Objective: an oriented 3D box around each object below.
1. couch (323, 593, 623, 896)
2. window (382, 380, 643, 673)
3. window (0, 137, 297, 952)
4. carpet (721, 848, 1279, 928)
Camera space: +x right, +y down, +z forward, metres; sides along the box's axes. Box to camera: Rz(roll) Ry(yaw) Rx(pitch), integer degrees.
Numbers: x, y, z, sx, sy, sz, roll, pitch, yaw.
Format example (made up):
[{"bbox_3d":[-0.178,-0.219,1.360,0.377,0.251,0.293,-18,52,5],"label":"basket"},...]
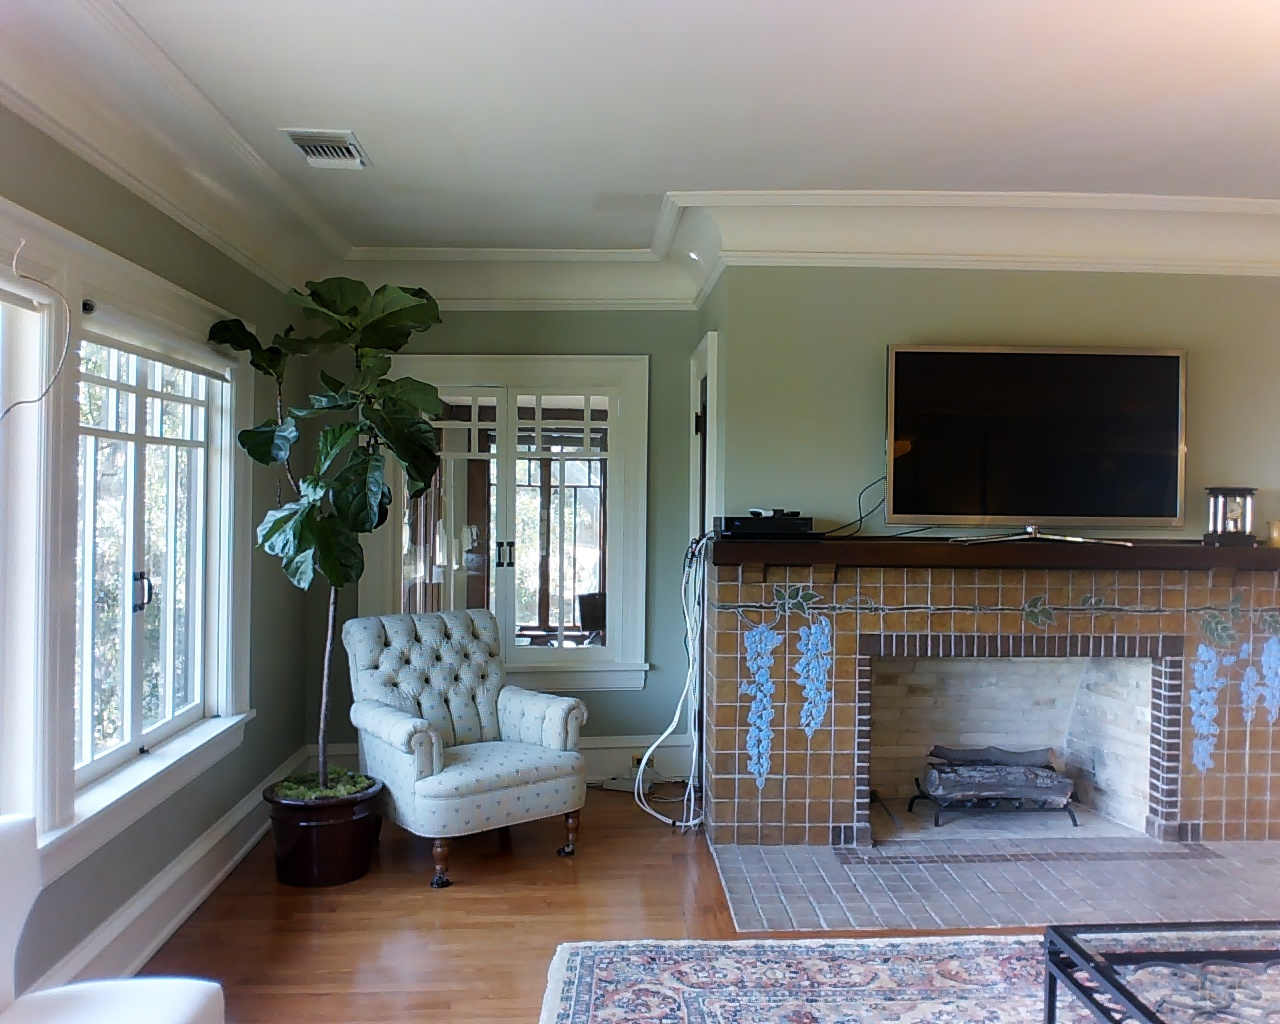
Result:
[{"bbox_3d":[-0.760,0.940,4.790,0.910,1.030,1.030,0,1,-40],"label":"couch"},{"bbox_3d":[-0.670,0.080,5.750,1.340,1.520,0.240,1,1,-3],"label":"window"},{"bbox_3d":[-1.520,0.080,1.910,0.360,1.730,5.400,1,1,-3],"label":"window"},{"bbox_3d":[1.670,1.460,4.230,2.630,0.040,0.690,1,1,-3],"label":"carpet"}]
